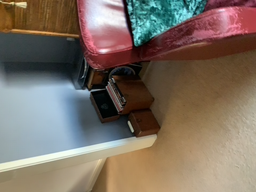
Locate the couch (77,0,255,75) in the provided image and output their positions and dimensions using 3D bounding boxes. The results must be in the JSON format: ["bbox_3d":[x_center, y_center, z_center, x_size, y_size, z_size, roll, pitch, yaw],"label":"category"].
[{"bbox_3d":[0.290,-0.540,1.050,0.860,0.810,0.760,-4,90,57],"label":"couch"}]
